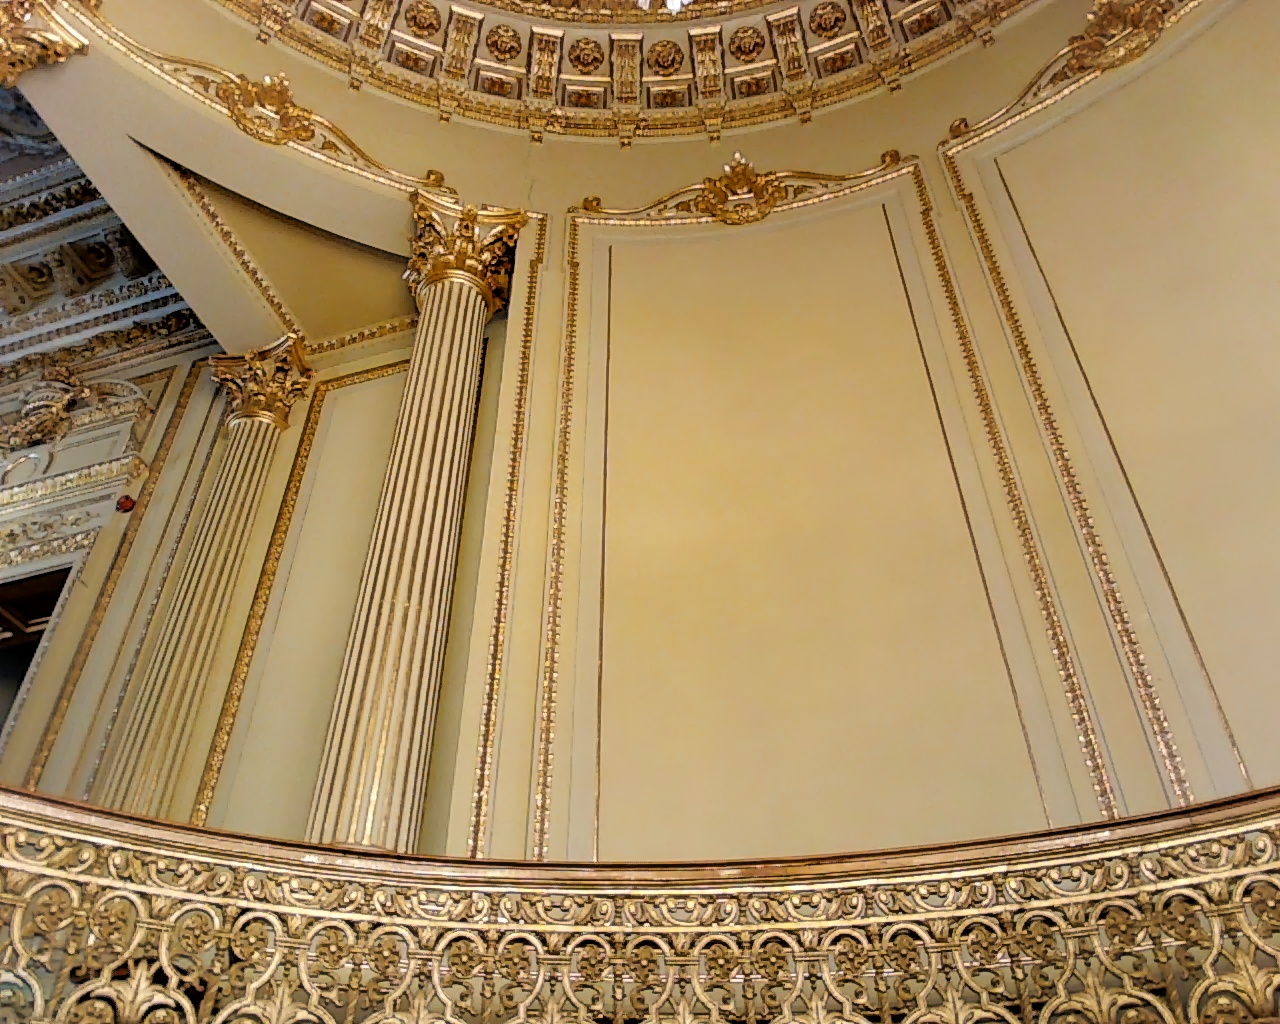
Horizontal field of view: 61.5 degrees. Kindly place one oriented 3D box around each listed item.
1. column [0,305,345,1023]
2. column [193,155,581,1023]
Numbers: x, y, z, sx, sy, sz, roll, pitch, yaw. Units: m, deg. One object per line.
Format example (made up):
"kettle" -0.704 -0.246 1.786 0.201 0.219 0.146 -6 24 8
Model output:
"column" -2.198 0.751 4.930 0.700 4.712 0.370 -12 -43 14
"column" -0.839 0.190 4.410 0.839 4.532 0.780 11 -42 -11
